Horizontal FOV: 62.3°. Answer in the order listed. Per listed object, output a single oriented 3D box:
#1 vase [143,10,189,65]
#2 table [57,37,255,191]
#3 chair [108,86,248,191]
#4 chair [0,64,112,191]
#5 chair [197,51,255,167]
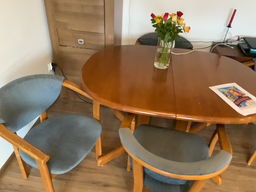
[{"bbox_3d":[0.260,-0.410,1.510,0.260,0.330,0.120,9,36,5],"label":"vase"},{"bbox_3d":[0.280,0.120,1.730,1.290,0.740,0.950,8,36,4],"label":"table"},{"bbox_3d":[0.220,0.440,1.300,0.560,0.730,0.570,9,36,6],"label":"chair"},{"bbox_3d":[-0.520,0.290,1.420,0.610,0.710,0.550,19,38,18],"label":"chair"},{"bbox_3d":[1.130,0.080,1.890,0.570,0.740,0.600,-12,39,-22],"label":"chair"}]
